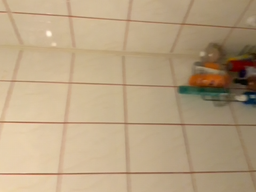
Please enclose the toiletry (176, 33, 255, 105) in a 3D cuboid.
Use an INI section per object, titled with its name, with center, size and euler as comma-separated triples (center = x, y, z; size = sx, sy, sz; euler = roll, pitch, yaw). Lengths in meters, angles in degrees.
[toiletry]
center = 0.620, -0.130, 1.100
size = 0.170, 0.670, 0.310
euler = 104, 166, -59
